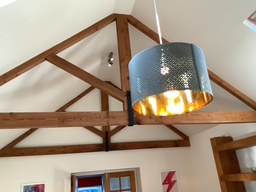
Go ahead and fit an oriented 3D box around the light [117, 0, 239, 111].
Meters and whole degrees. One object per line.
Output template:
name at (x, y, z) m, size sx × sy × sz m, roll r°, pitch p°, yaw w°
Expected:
light at (0.260, -0.830, 1.830) m, size 0.630 × 1.810 × 0.560 m, roll -2°, pitch -21°, yaw -9°
